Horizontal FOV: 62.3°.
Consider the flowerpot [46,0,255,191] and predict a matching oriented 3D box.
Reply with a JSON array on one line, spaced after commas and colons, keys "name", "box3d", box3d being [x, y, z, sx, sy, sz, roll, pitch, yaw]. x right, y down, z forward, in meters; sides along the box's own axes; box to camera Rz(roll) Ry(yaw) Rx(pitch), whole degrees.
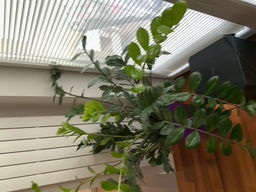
[{"name": "flowerpot", "box3d": [0.200, 0.170, 1.210, 1.020, 1.050, 1.090, -29, 64, 55]}]
